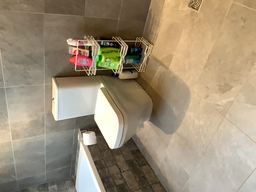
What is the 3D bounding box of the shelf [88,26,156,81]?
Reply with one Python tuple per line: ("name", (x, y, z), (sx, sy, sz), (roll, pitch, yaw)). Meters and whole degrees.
("shelf", (-0.060, -0.370, 1.860), (0.200, 0.490, 0.390), (51, 138, 44))
